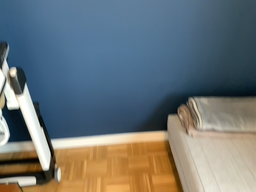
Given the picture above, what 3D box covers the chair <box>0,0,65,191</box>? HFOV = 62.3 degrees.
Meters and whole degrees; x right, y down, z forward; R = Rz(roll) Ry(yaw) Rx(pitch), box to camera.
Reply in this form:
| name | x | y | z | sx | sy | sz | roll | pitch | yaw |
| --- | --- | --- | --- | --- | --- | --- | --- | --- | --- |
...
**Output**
| name | x | y | z | sx | sy | sz | roll | pitch | yaw |
| --- | --- | --- | --- | --- | --- | --- | --- | --- | --- |
| chair | -0.810 | 0.150 | 1.080 | 0.620 | 1.190 | 0.550 | -3 | 36 | -1 |
